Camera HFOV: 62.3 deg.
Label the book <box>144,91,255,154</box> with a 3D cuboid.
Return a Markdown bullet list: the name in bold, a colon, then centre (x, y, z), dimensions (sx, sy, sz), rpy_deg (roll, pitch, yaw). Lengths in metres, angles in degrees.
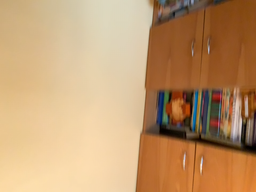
- **book**: centre (0.540, 0.140, 1.330), dimensions (0.310, 0.300, 0.890), rpy_deg (8, 175, -40)
